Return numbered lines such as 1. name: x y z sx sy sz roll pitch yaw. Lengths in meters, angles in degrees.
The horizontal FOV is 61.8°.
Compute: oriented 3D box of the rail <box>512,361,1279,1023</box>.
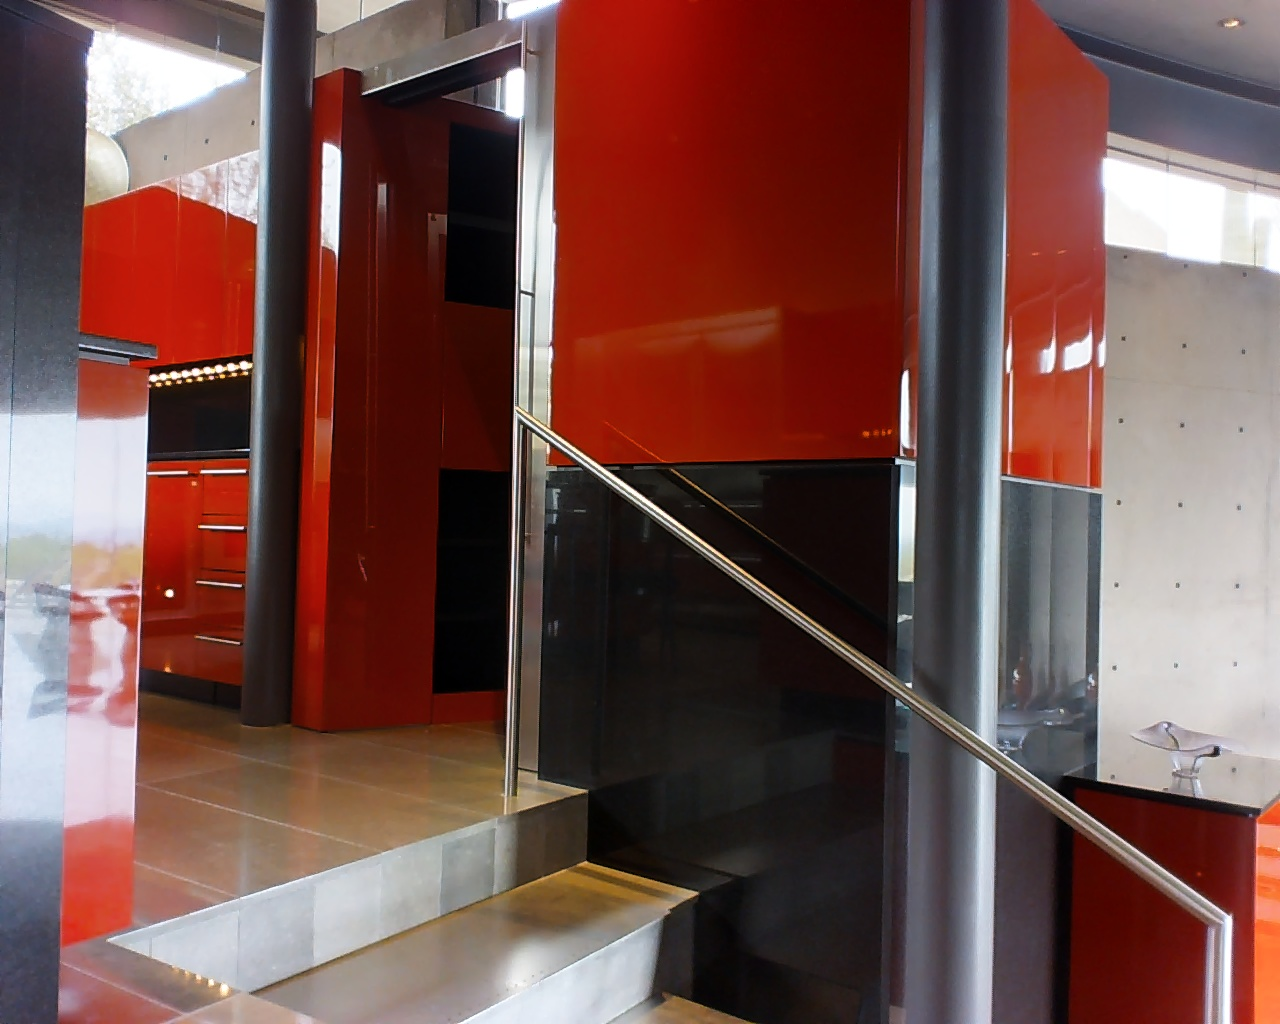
1. rail: 0.420 0.620 2.220 1.580 1.790 0.150 3 0 34
